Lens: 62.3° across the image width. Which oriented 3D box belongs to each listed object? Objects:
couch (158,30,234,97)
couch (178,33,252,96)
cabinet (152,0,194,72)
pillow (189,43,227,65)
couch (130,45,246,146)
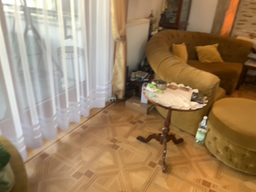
[{"bbox_3d":[1.110,-0.590,3.620,1.000,0.840,0.400,23,33,30],"label":"couch"},{"bbox_3d":[1.530,-0.610,3.780,0.890,0.770,0.770,23,33,30],"label":"couch"},{"bbox_3d":[0.930,-1.550,4.170,0.410,1.980,0.680,19,31,25],"label":"cabinet"},{"bbox_3d":[1.370,-0.730,3.640,0.480,0.260,0.300,-7,30,-22],"label":"pillow"},{"bbox_3d":[0.640,-0.090,2.630,0.810,0.800,0.970,-9,31,-25],"label":"couch"}]
